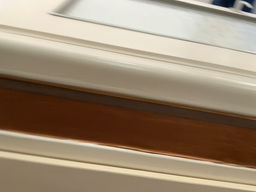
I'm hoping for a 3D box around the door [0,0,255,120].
[{"bbox_3d":[0.660,-0.210,0.860,0.930,2.020,0.110,-88,8,-53],"label":"door"}]
